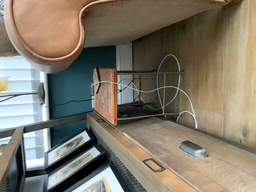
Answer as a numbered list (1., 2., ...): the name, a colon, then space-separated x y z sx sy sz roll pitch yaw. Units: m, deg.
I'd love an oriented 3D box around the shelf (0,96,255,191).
1. shelf: -0.590 0.330 0.630 1.270 1.900 0.430 -165 73 -67
